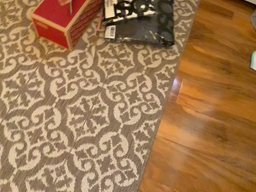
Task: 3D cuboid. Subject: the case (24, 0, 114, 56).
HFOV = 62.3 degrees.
[{"bbox_3d":[-0.190,-0.360,0.810,0.180,0.110,0.370,25,66,2],"label":"case"}]
